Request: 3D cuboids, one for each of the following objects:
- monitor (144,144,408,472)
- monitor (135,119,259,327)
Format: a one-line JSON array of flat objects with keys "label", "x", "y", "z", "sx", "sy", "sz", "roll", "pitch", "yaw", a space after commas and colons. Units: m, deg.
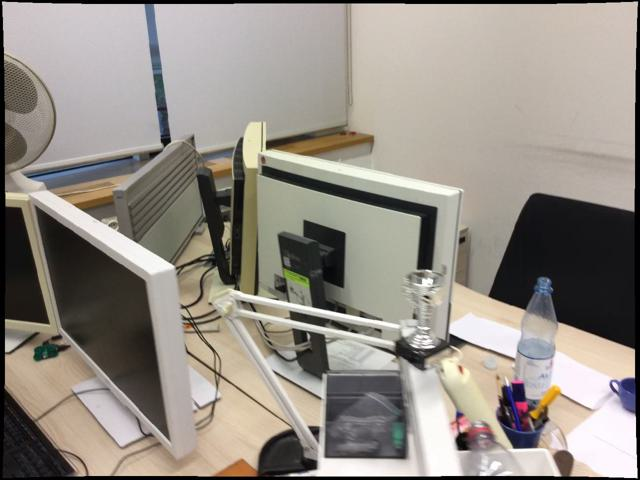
[{"label": "monitor", "x": -0.110, "y": 0.100, "z": 1.300, "sx": 0.230, "sy": 0.510, "sz": 0.610, "roll": -21, "pitch": 28, "yaw": -36}, {"label": "monitor", "x": -0.350, "y": -0.080, "z": 1.810, "sx": 0.240, "sy": 0.480, "sz": 0.520, "roll": -4, "pitch": 23, "yaw": -1}]
